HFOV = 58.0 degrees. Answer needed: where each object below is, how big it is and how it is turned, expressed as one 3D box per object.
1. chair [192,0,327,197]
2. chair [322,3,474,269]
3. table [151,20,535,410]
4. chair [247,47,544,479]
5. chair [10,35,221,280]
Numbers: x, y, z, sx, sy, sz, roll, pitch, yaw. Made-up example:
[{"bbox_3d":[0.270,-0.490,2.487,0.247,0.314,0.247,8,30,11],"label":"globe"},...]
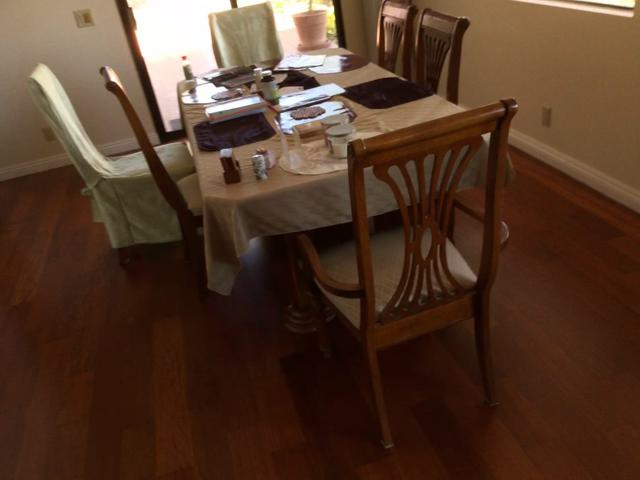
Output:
[{"bbox_3d":[-0.390,-0.960,3.760,0.560,1.090,0.650,-16,29,-9],"label":"chair"},{"bbox_3d":[0.370,-0.480,2.670,0.450,1.040,0.490,-16,29,-9],"label":"chair"},{"bbox_3d":[-0.100,-0.400,2.900,1.210,0.900,2.160,-16,29,-9],"label":"table"},{"bbox_3d":[0.220,0.030,1.850,0.580,1.040,0.750,-16,29,-9],"label":"chair"},{"bbox_3d":[-1.040,-0.460,3.130,0.700,1.050,0.580,-16,29,-9],"label":"chair"}]
